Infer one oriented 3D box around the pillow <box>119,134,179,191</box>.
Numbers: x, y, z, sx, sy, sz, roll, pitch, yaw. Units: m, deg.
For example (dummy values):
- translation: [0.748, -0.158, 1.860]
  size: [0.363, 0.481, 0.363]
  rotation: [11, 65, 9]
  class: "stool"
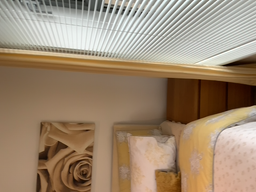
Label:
- translation: [0.150, 0.650, 1.660]
  size: [0.370, 0.360, 0.670]
  rotation: [157, 115, -75]
  class: "pillow"
